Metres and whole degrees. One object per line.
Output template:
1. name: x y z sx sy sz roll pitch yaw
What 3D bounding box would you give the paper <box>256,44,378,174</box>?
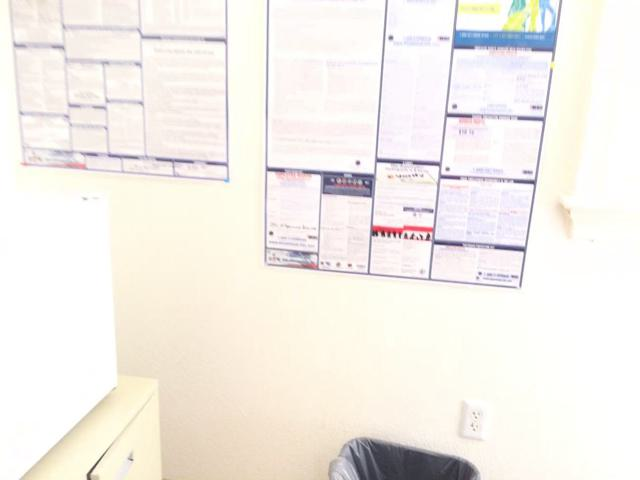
1. paper: -0.010 -0.320 1.420 0.280 0.290 0.040 6 12 9

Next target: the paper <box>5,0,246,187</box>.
1. paper: -0.500 -0.480 1.490 0.600 0.630 0.100 6 12 9

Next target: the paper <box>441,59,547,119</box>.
1. paper: 0.400 -0.350 1.340 0.220 0.120 0.030 6 12 9

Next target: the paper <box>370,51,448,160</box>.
1. paper: 0.210 -0.320 1.380 0.160 0.240 0.040 6 12 9

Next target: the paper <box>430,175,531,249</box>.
1. paper: 0.390 -0.070 1.420 0.220 0.160 0.040 6 12 9

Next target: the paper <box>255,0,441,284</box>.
1. paper: 0.060 -0.260 1.430 0.400 0.700 0.090 6 12 9

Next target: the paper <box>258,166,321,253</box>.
1. paper: -0.080 -0.080 1.500 0.150 0.210 0.030 6 12 9
